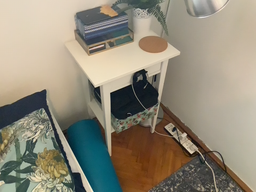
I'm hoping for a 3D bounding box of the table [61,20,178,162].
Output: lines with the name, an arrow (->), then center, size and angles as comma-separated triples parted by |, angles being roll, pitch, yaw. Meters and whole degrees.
table -> -0.060, -0.010, 1.300 | 0.460, 0.700, 0.360 | -22, 51, -22
